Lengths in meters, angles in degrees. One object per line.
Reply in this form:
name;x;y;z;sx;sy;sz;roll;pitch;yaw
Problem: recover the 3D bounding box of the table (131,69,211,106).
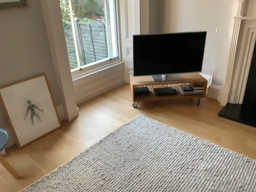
table;0.590;-0.130;3.050;1.050;0.380;0.320;-4;26;-3
